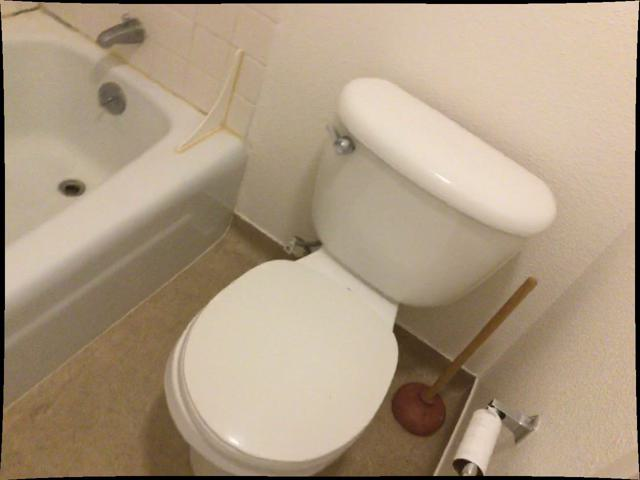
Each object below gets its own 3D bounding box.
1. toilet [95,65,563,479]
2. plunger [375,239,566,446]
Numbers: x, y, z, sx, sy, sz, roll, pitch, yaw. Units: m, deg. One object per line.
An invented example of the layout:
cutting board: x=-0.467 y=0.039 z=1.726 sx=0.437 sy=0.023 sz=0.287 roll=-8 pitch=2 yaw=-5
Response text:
toilet: x=0.000 y=0.180 z=1.160 sx=0.470 sy=0.720 sz=0.680 roll=35 pitch=44 yaw=9
plunger: x=0.329 y=0.260 z=1.350 sx=0.150 sy=0.540 sz=0.170 roll=34 pitch=44 yaw=9
